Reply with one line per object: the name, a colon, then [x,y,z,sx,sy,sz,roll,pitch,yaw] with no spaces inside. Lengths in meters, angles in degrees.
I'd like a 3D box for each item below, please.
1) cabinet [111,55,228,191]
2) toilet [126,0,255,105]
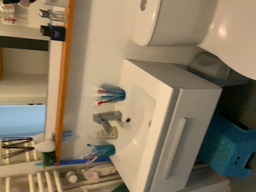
cabinet: [0.170,0.140,1.150,0.410,0.290,0.600,43,127,51]
toilet: [0.540,-0.300,0.940,0.690,0.820,0.370,43,127,51]
